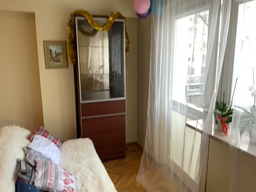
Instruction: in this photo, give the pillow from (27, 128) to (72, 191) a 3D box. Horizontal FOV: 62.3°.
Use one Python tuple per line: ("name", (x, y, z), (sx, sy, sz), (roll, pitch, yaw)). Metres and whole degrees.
("pillow", (-0.680, 0.640, 1.850), (0.200, 0.530, 0.430), (-16, -43, -30))
